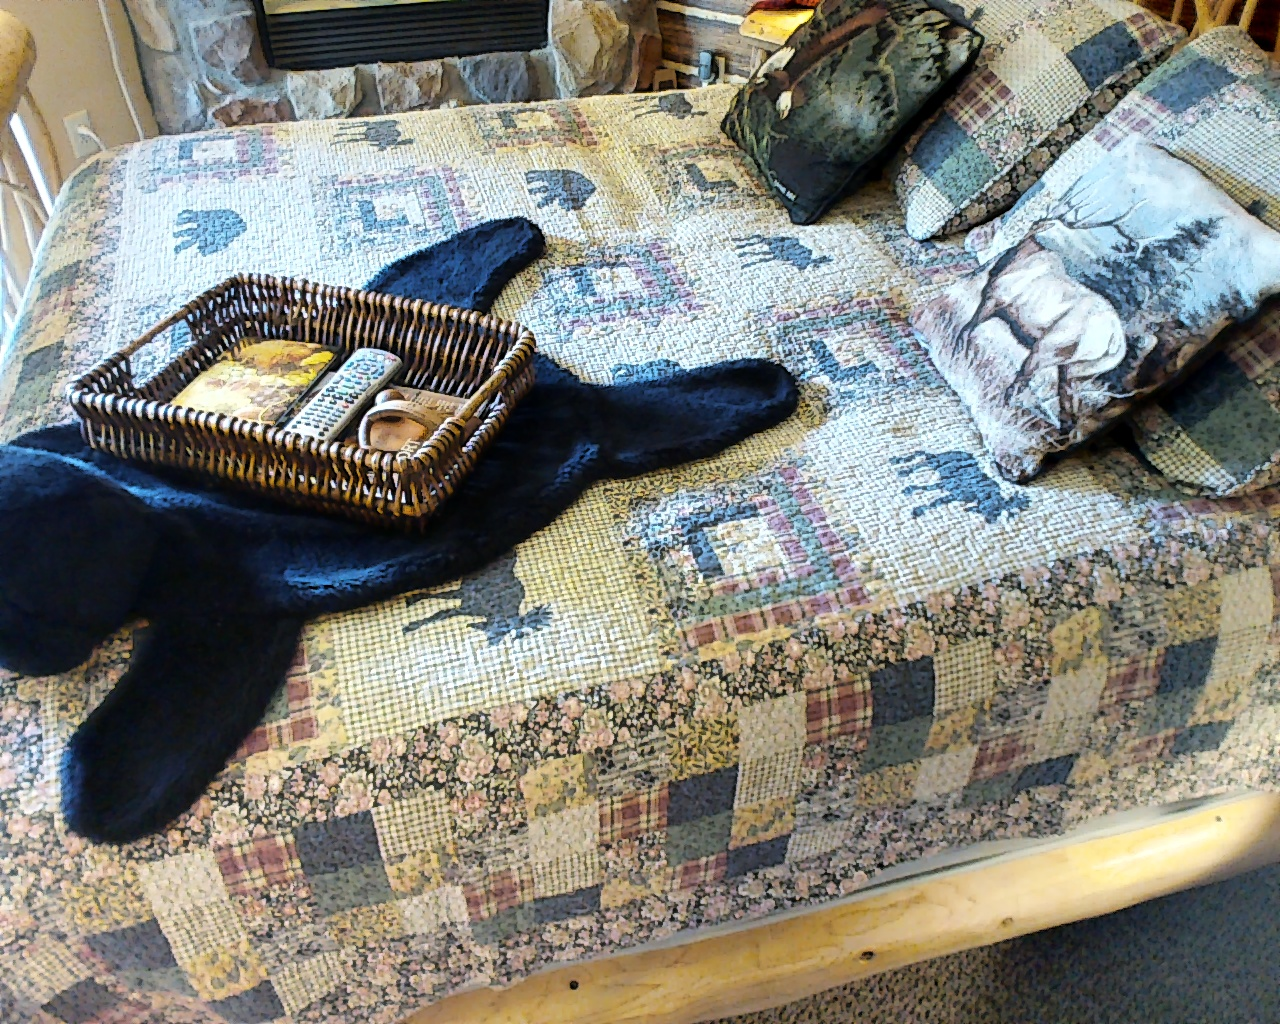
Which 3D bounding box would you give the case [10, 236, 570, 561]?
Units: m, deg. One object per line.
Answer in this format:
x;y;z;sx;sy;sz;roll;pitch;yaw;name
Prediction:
-0.370;-0.150;1.230;0.490;0.110;0.350;11;43;11;case

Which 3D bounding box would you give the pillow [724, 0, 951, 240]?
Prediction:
0.310;-0.710;1.770;0.130;0.440;0.360;-34;-15;18;pillow

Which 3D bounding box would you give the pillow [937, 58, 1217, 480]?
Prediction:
0.510;-0.260;1.280;0.140;0.370;0.370;-23;-14;18;pillow
